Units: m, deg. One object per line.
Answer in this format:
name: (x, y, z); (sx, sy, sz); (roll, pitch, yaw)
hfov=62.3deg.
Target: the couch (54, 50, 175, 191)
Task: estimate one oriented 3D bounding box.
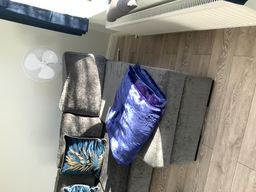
couch: (-0.270, 0.640, 2.300); (0.960, 0.750, 2.120); (20, 104, 61)
